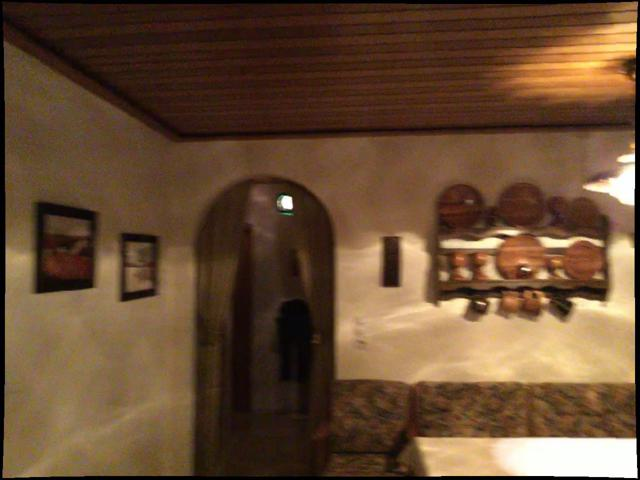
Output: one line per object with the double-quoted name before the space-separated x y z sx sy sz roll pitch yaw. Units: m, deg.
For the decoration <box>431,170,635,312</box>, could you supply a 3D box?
"decoration" 1.259 0.010 3.490 1.139 0.821 0.170 0 -1 6
